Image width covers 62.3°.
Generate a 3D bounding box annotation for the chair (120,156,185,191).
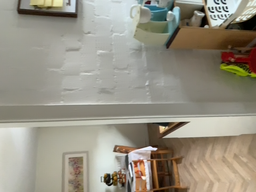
[{"bbox_3d":[0.360,1.310,3.530,0.690,0.860,0.520,124,144,-68],"label":"chair"}]
